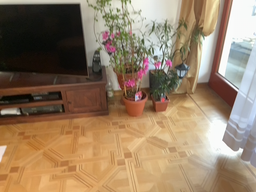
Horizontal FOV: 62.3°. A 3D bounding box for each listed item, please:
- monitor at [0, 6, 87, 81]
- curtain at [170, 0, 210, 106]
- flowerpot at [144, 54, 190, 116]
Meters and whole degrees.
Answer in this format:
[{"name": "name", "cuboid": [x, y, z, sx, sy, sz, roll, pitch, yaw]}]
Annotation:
[{"name": "monitor", "cuboid": [-1.010, -0.520, 2.140, 1.160, 0.710, 0.040, 5, 31, 10]}, {"name": "curtain", "cuboid": [0.690, -1.050, 2.210, 0.170, 2.480, 0.390, -4, 31, -6]}, {"name": "flowerpot", "cuboid": [0.430, -0.160, 2.580, 0.350, 0.490, 0.640, -4, 31, -6]}]
